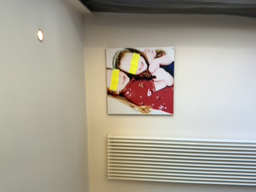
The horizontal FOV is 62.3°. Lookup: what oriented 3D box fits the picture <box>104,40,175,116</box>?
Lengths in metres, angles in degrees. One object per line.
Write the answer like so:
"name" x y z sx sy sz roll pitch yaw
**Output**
"picture" 0.120 -0.190 2.320 0.020 0.750 0.810 -56 -34 -82
